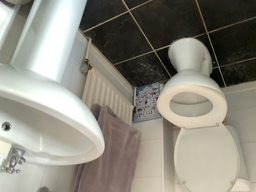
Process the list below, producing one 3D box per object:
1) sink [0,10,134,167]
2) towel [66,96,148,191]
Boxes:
[{"bbox_3d":[-0.320,0.050,0.640,0.420,0.160,0.600,-14,144,29],"label":"sink"},{"bbox_3d":[-0.070,0.360,1.220,0.150,0.510,0.530,-12,145,27],"label":"towel"}]
